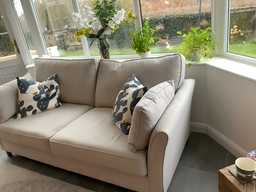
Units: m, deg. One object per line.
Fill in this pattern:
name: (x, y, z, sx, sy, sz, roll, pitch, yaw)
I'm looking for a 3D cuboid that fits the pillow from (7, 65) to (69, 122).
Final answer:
pillow: (-0.980, -0.030, 2.340, 0.390, 0.470, 0.210, -46, 28, -25)
